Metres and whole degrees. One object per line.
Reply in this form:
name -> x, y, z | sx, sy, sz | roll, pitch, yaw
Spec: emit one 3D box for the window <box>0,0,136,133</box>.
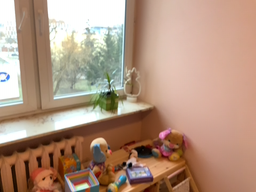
window -> -0.530, -0.570, 1.570 | 1.330, 1.530, 0.210 | -10, 21, -37
